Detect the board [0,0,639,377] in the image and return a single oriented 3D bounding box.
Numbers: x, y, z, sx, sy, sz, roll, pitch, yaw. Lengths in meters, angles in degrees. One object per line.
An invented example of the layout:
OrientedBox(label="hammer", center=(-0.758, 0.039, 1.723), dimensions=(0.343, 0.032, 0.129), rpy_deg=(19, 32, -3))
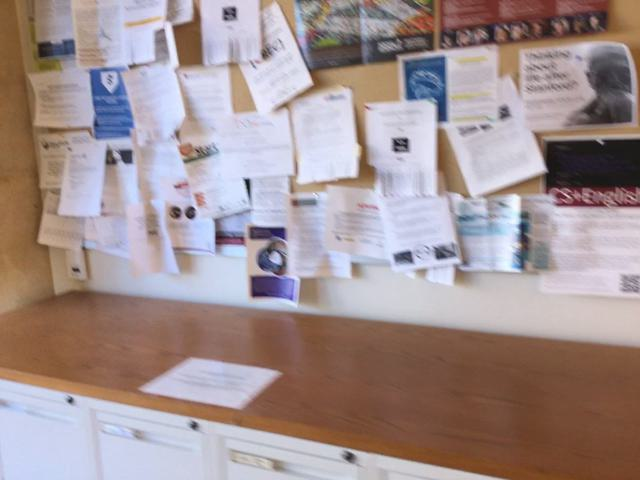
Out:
OrientedBox(label="board", center=(-0.030, -0.320, 1.790), dimensions=(2.440, 1.210, 0.200), rpy_deg=(3, 8, 22))
